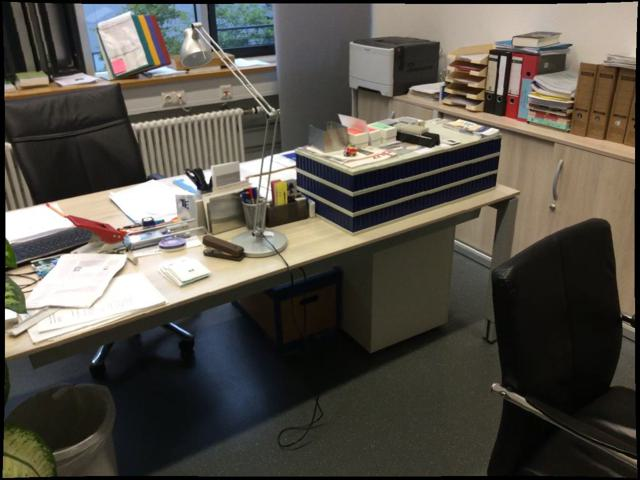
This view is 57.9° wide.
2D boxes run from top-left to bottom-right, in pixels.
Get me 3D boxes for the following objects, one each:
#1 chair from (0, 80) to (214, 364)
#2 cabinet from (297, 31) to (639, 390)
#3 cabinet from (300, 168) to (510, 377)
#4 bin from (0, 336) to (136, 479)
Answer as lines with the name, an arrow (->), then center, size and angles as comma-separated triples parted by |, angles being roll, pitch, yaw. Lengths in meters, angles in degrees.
chair -> -0.909, -0.120, 2.500 | 0.670, 0.981, 0.560 | -15, 30, -32
cabinet -> 1.159, -0.260, 2.820 | 0.770, 1.081, 3.429 | -15, 30, -32
cabinet -> 0.350, 0.100, 2.480 | 0.750, 0.611, 0.420 | -15, 30, -32
bin -> -0.789, 0.601, 1.750 | 0.310, 0.380, 0.420 | -15, 30, -32
